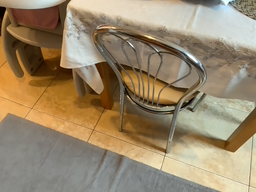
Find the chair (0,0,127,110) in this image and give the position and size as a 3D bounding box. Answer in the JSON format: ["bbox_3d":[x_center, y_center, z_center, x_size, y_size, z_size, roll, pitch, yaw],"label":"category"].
[{"bbox_3d":[-0.420,-0.550,1.220,0.590,1.000,0.720,17,58,13],"label":"chair"}]
